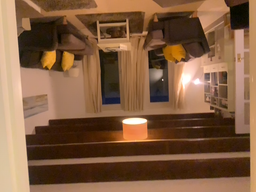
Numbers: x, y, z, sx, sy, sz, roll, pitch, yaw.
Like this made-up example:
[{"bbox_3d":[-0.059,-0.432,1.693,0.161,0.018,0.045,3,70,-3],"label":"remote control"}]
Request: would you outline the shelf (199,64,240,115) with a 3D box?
[{"bbox_3d":[2.070,-0.190,4.970,0.320,1.010,1.530,-3,-175,1],"label":"shelf"}]
